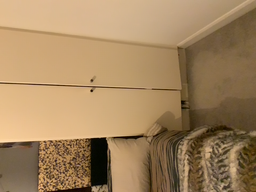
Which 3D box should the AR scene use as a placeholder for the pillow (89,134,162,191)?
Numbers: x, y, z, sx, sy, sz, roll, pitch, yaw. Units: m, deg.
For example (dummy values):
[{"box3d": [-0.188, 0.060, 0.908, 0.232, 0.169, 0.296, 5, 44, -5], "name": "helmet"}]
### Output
[{"box3d": [-0.020, 0.670, 1.910, 0.480, 0.410, 0.190, -47, 8, -19], "name": "pillow"}]
